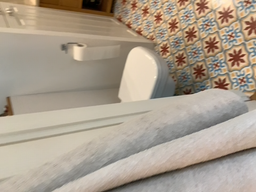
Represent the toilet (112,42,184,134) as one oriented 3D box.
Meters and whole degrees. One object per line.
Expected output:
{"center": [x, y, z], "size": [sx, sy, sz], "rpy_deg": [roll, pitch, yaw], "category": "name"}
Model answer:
{"center": [0.110, -0.060, 1.520], "size": [0.340, 0.210, 0.540], "rpy_deg": [47, 131, 42], "category": "toilet"}
